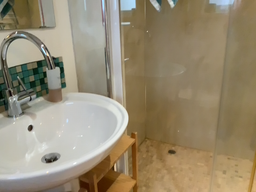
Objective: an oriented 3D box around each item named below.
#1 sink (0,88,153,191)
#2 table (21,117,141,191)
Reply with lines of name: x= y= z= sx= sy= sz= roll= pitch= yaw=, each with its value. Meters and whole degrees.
sink: x=-0.230 y=0.160 z=0.720 sx=0.470 sy=0.180 sz=0.540 roll=8 pitch=22 yaw=25
table: x=-0.180 y=0.480 z=1.060 sx=0.360 sy=0.590 sz=0.400 roll=8 pitch=22 yaw=25
